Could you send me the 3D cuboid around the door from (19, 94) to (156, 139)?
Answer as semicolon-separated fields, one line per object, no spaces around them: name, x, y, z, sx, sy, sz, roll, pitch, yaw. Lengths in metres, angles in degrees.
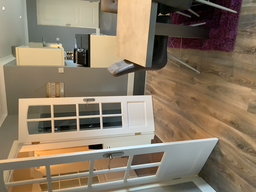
door;-0.510;0.270;3.160;0.050;1.980;0.520;165;102;-71
